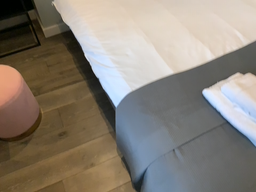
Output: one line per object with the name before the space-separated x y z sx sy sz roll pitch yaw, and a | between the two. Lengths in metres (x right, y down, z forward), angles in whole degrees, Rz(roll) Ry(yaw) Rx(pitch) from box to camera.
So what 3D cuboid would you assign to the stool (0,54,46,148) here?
stool | -0.820 0.050 1.400 0.340 0.450 0.340 -20 57 -14
